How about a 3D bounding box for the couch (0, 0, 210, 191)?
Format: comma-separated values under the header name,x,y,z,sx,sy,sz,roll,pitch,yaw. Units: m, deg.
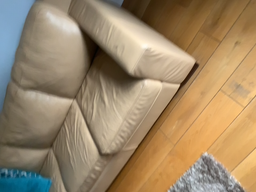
name,x,y,z,sx,sy,sz,roll,pitch,yaw
couch,-0.560,0.290,1.830,1.100,0.840,2.150,48,119,33
